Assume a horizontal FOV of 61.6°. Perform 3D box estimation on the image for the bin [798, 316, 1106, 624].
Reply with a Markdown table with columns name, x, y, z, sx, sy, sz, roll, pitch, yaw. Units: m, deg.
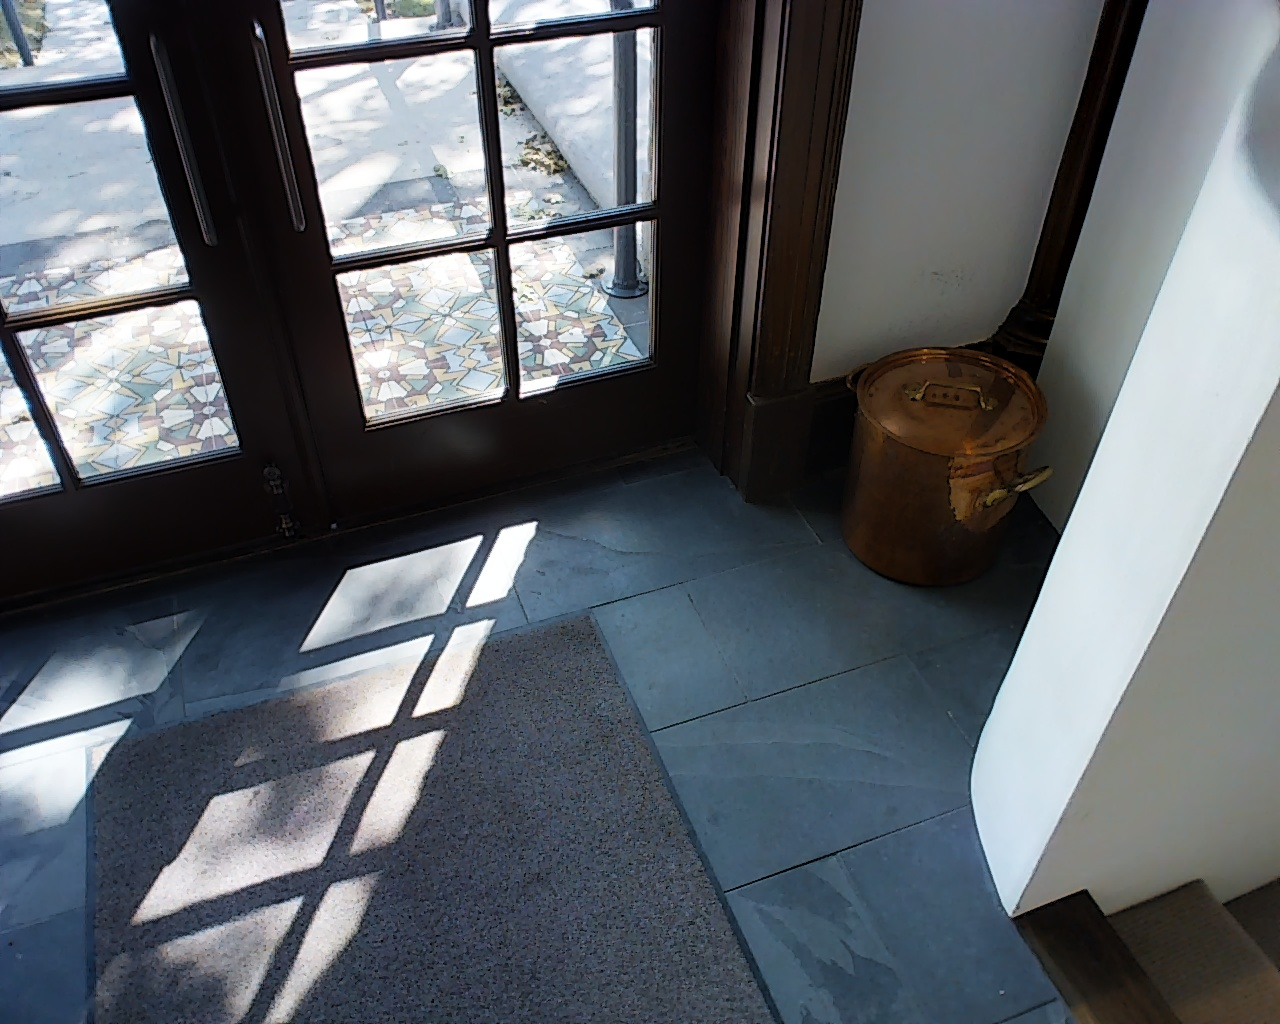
| name | x | y | z | sx | sy | sz | roll | pitch | yaw |
| --- | --- | --- | --- | --- | --- | --- | --- | --- | --- |
| bin | 0.570 | -0.090 | 2.060 | 0.340 | 0.350 | 0.390 | -18 | 46 | -19 |

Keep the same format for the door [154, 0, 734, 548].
| name | x | y | z | sx | sy | sz | roll | pitch | yaw |
| --- | --- | --- | --- | --- | --- | --- | --- | --- | --- |
| door | -0.260 | -0.810 | 1.590 | 0.870 | 2.060 | 0.050 | -15 | 45 | -16 |
